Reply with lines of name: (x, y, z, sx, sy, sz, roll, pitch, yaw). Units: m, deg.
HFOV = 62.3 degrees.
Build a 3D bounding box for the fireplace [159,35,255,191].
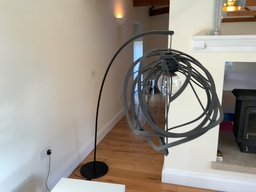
fireplace: (1.520, 0.160, 2.380, 2.170, 1.610, 1.000, 4, 15, 15)
